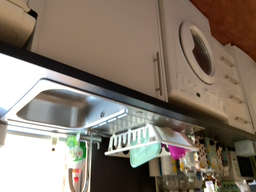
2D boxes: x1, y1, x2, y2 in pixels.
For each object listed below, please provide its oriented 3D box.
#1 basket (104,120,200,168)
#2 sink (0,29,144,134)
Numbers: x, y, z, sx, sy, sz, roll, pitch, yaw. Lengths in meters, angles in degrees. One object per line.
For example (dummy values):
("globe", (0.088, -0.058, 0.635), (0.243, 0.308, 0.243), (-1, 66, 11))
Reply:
("basket", (0.130, 0.310, 1.270), (0.390, 0.180, 0.400), (17, 150, -36))
("sink", (-0.270, 0.000, 0.980), (0.450, 0.190, 0.510), (18, 150, -38))
